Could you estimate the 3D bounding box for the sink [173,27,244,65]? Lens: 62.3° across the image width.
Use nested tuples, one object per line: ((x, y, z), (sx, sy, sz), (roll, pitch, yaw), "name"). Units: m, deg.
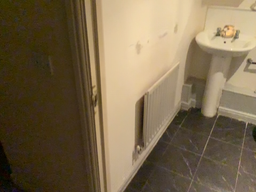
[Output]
((0.820, -0.530, 2.160), (0.590, 0.200, 0.440), (16, 32, 25), "sink")
